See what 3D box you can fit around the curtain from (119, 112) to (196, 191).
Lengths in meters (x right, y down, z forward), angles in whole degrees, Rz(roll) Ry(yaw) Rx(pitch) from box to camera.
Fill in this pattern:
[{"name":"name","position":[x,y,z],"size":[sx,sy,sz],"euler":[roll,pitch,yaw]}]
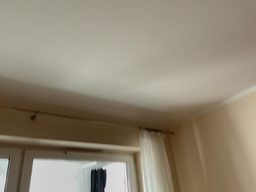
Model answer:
[{"name":"curtain","position":[0.350,1.400,1.870],"size":[0.620,2.500,0.350],"euler":[9,-30,-27]}]
